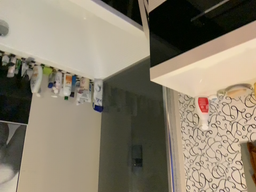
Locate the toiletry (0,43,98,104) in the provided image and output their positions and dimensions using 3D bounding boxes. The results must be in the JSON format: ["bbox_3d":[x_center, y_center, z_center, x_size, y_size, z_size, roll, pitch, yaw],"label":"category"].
[{"bbox_3d":[-0.820,-0.200,1.340,1.390,0.210,0.160,17,155,-39],"label":"toiletry"}]

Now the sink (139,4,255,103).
[{"bbox_3d":[0.490,-0.160,0.770,0.410,0.110,0.850,17,155,-40],"label":"sink"}]
